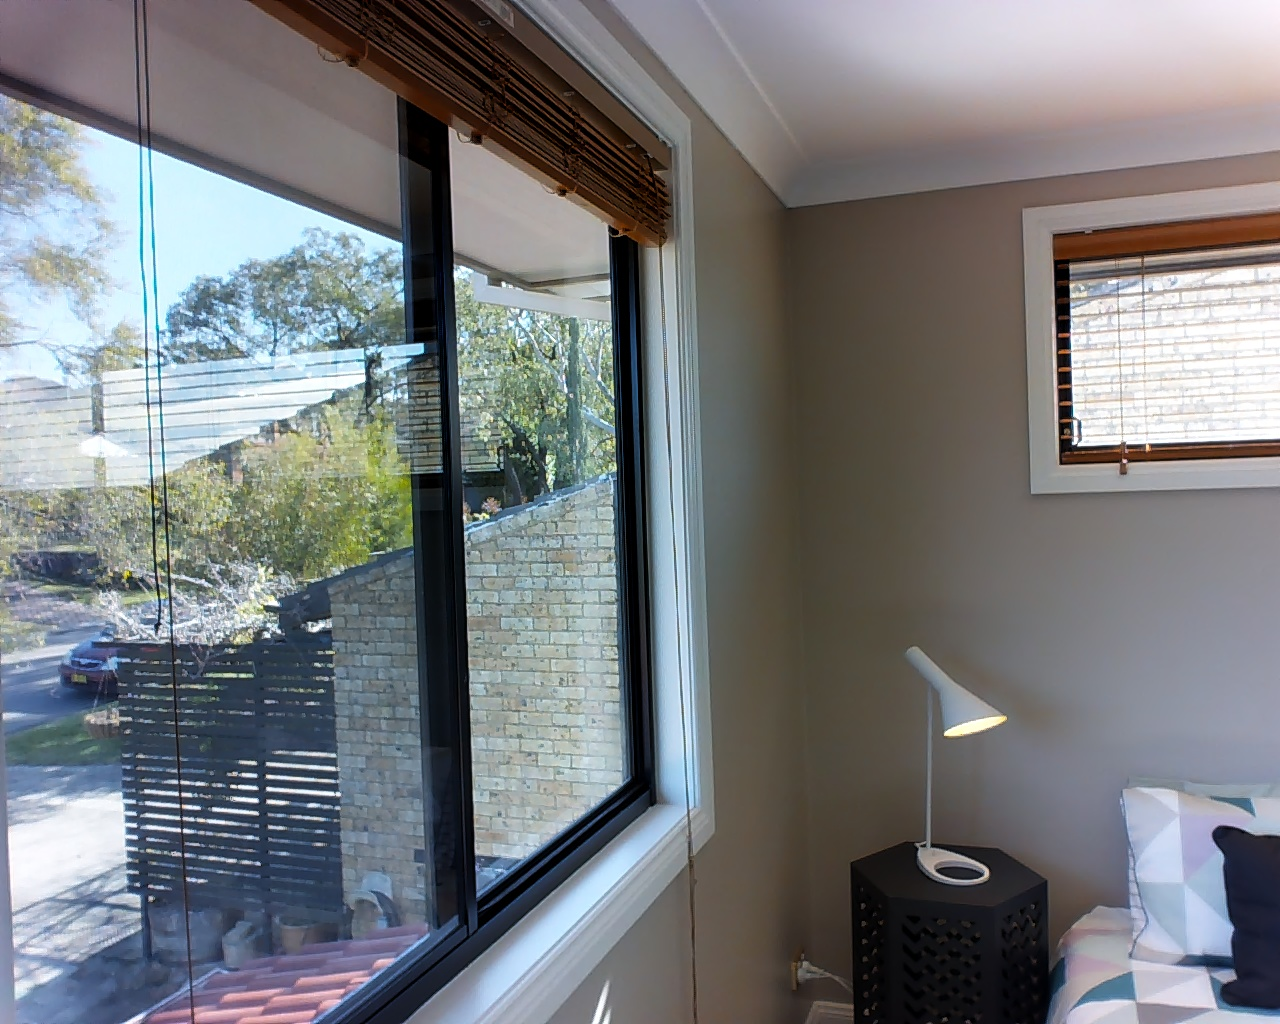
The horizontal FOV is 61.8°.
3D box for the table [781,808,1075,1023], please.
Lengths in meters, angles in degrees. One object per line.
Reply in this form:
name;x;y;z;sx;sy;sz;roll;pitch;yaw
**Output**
table;0.720;1.140;2.630;0.620;0.620;0.580;-1;1;19
